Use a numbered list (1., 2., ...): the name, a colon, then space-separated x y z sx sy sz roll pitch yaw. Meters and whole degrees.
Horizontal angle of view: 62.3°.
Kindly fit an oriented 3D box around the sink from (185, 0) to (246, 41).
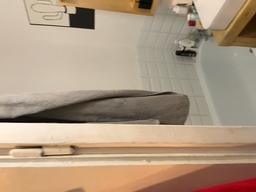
1. sink: 0.520 -0.630 1.180 0.510 0.130 0.360 110 159 -56
